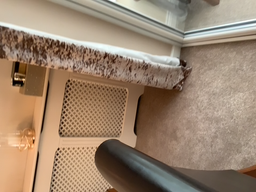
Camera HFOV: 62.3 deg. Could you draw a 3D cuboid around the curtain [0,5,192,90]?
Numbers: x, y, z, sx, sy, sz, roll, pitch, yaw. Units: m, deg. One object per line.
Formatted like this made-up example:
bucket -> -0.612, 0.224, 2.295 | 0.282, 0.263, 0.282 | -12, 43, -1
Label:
curtain -> -0.510, -0.270, 1.110 | 0.420, 2.110, 0.190 | 9, 91, 54
